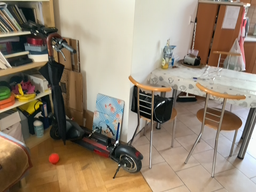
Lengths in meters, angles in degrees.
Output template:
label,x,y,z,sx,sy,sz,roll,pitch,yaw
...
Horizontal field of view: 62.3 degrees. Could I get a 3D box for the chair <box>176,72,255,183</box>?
label,x,y,z,sx,sy,sz,roll,pitch,yaw
chair,0.800,0.260,1.980,0.430,0.810,0.480,18,28,28
